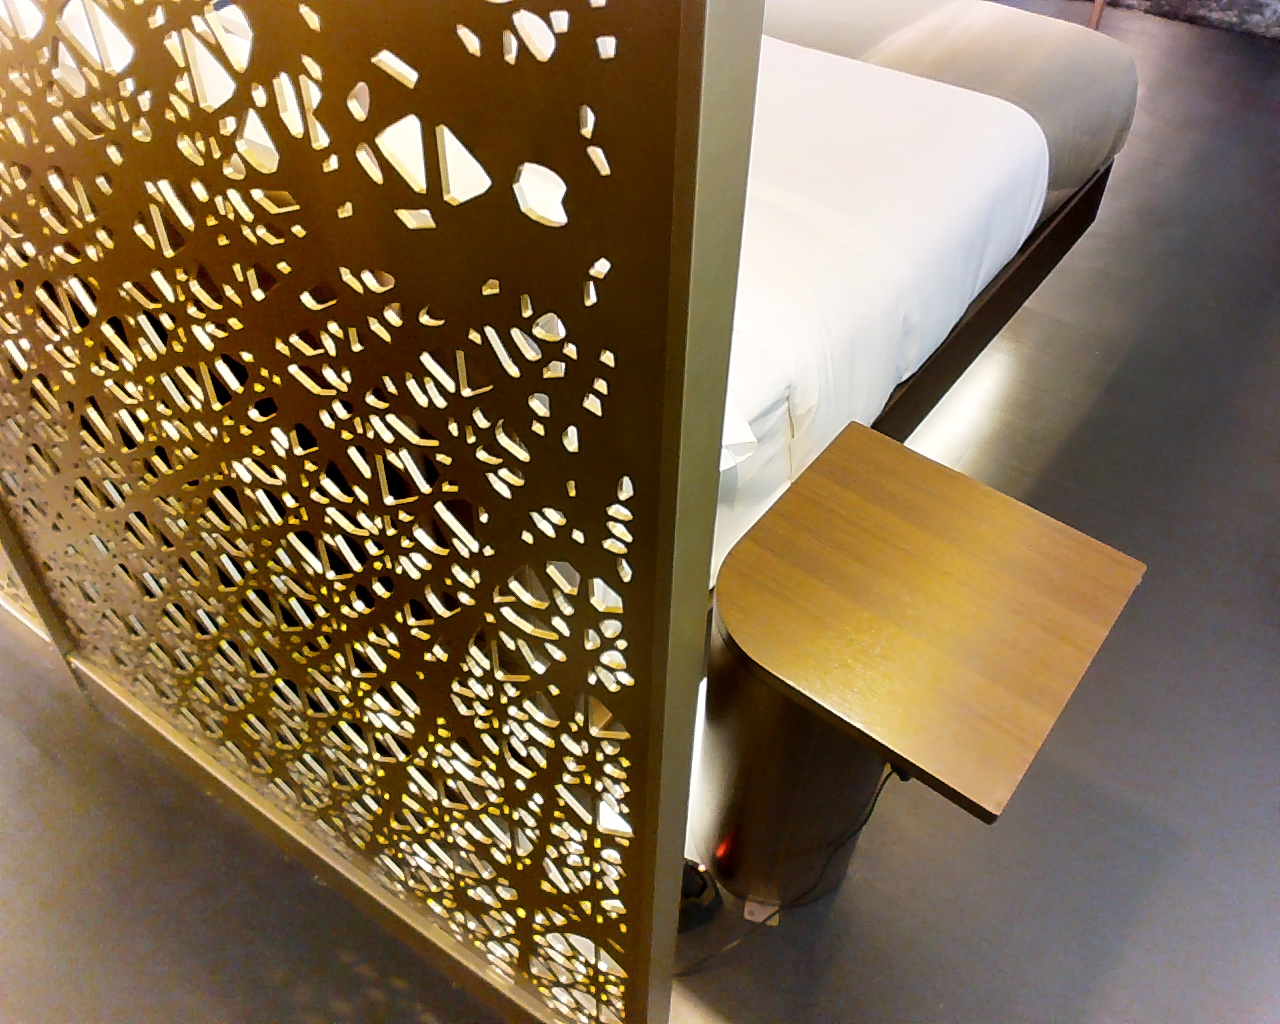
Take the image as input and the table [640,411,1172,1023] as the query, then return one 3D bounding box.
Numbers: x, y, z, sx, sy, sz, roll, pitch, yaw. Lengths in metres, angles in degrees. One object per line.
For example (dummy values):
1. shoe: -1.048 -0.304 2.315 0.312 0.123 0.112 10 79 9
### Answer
1. table: 0.320 0.310 1.480 0.470 0.640 0.440 26 49 26
